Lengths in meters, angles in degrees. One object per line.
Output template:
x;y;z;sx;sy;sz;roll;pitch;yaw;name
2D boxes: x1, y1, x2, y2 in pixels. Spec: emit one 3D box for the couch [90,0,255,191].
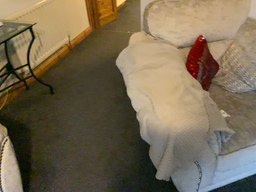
0.540;-0.090;1.470;1.280;0.940;1.040;-14;40;-14;couch
